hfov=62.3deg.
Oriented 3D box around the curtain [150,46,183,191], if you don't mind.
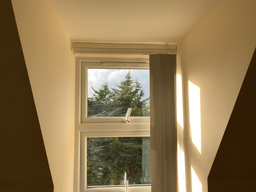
[{"bbox_3d":[0.300,0.220,1.710,0.230,1.230,0.140,0,-3,0],"label":"curtain"}]
